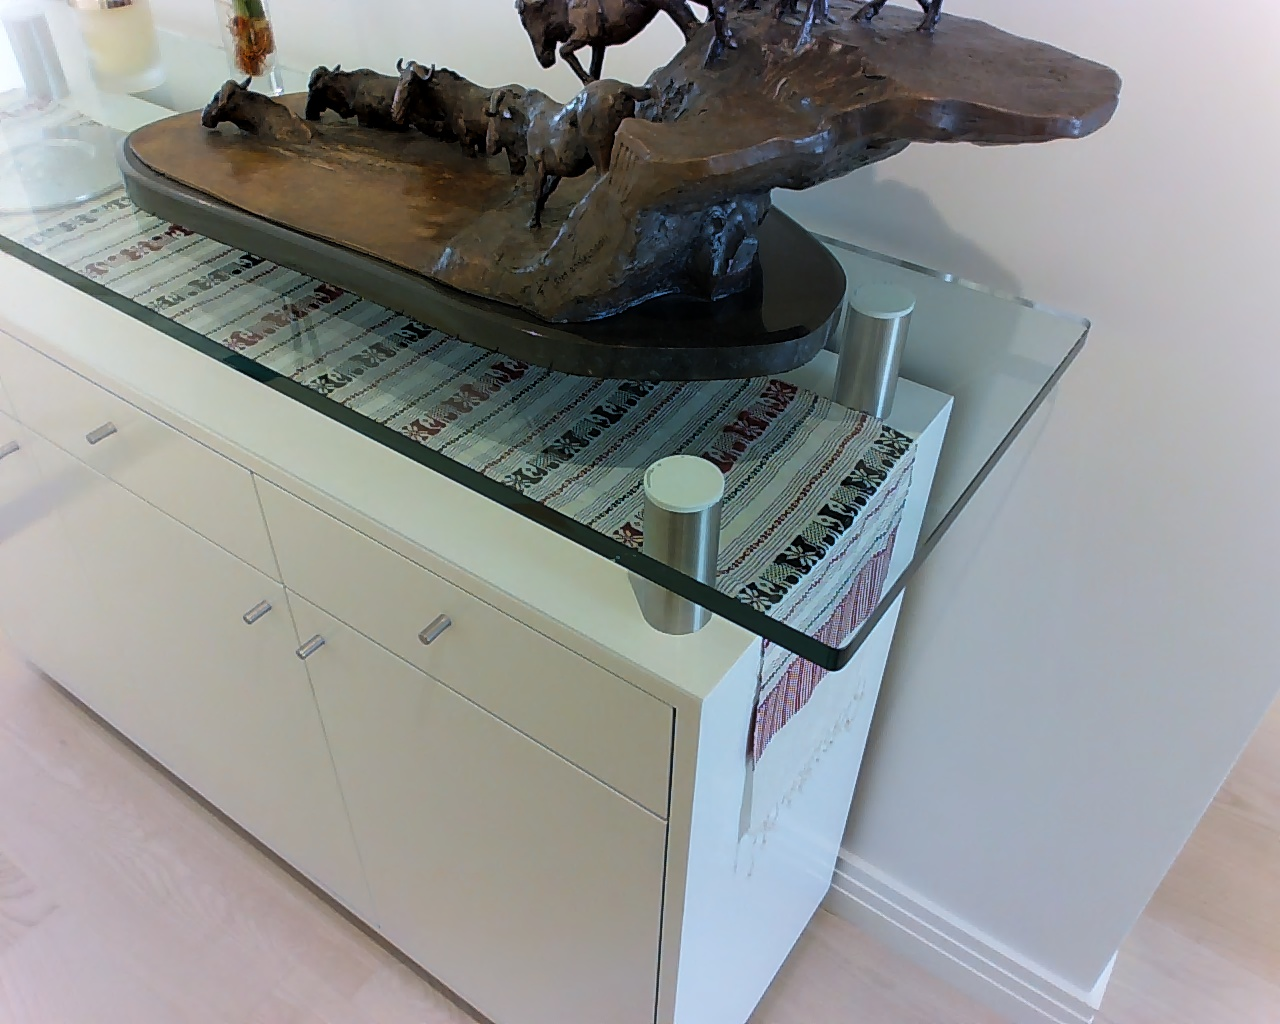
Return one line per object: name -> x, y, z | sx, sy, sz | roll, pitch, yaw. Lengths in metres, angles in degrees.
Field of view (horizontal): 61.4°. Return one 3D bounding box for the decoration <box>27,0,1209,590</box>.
decoration -> -0.070, -0.330, 0.780 | 0.800, 0.370, 0.310 | 25, 47, 26
